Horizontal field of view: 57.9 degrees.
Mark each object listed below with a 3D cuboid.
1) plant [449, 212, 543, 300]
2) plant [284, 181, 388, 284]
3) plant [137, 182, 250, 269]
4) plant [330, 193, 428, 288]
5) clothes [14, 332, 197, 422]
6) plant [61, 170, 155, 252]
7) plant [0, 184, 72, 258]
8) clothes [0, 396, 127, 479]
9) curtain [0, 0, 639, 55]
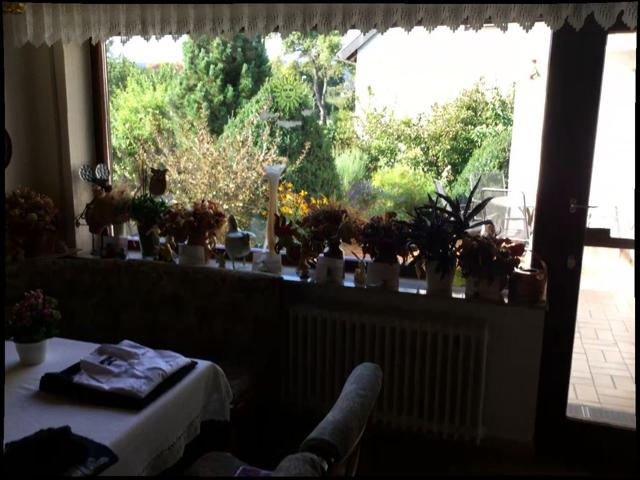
[{"bbox_3d":[0.789,0.060,2.590,0.360,0.300,0.280,6,14,20],"label":"plant"},{"bbox_3d":[0.080,-0.050,2.770,0.400,0.400,0.340,6,14,20],"label":"plant"},{"bbox_3d":[-0.649,-0.090,3.020,0.470,0.360,0.320,6,14,20],"label":"plant"},{"bbox_3d":[0.280,-0.010,2.730,0.390,0.370,0.260,6,14,20],"label":"plant"},{"bbox_3d":[-0.669,0.420,1.850,0.410,0.070,0.360,6,14,20],"label":"clothes"},{"bbox_3d":[-1.159,-0.170,3.180,0.430,0.390,0.210,6,14,20],"label":"plant"},{"bbox_3d":[-1.528,-0.110,2.970,0.270,0.300,0.360,6,14,20],"label":"plant"},{"bbox_3d":[-0.659,0.521,1.390,0.220,0.120,0.310,6,14,20],"label":"clothes"},{"bbox_3d":[0.450,-1.011,2.220,4.336,0.490,0.310,6,14,20],"label":"curtain"}]
